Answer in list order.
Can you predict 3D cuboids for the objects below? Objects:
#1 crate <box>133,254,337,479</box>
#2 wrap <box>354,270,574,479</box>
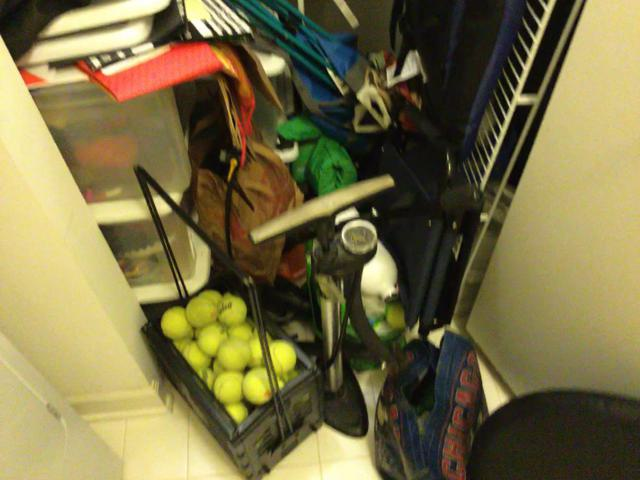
[{"bbox_3d":[-0.170,0.300,1.260,0.240,0.350,0.340,-35,60,-25],"label":"crate"},{"bbox_3d":[0.260,0.350,1.240,0.310,0.340,0.420,-6,52,-3],"label":"wrap"}]
